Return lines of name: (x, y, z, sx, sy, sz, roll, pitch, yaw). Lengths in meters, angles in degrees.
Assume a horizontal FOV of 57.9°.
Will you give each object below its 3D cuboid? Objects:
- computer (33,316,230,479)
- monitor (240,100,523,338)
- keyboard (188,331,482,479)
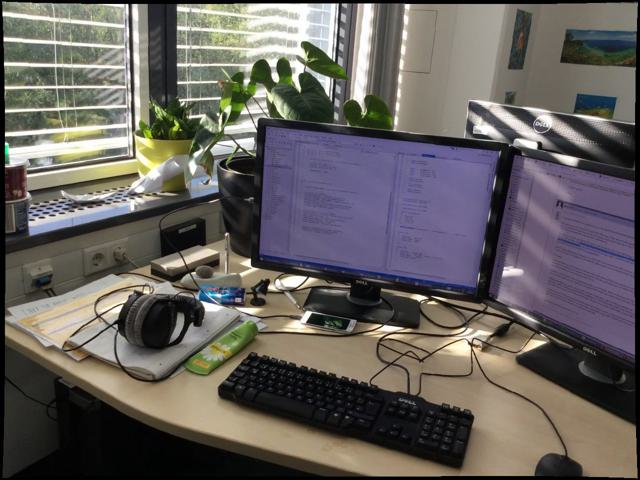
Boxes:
computer: (-0.549, 0.551, 1.770, 0.320, 0.410, 0.450, 17, 25, 29)
monitor: (0.120, -0.060, 1.360, 0.599, 0.450, 0.140, 10, 22, 14)
keyboard: (0.020, 0.280, 1.020, 0.490, 0.040, 0.170, 13, 23, 22)
